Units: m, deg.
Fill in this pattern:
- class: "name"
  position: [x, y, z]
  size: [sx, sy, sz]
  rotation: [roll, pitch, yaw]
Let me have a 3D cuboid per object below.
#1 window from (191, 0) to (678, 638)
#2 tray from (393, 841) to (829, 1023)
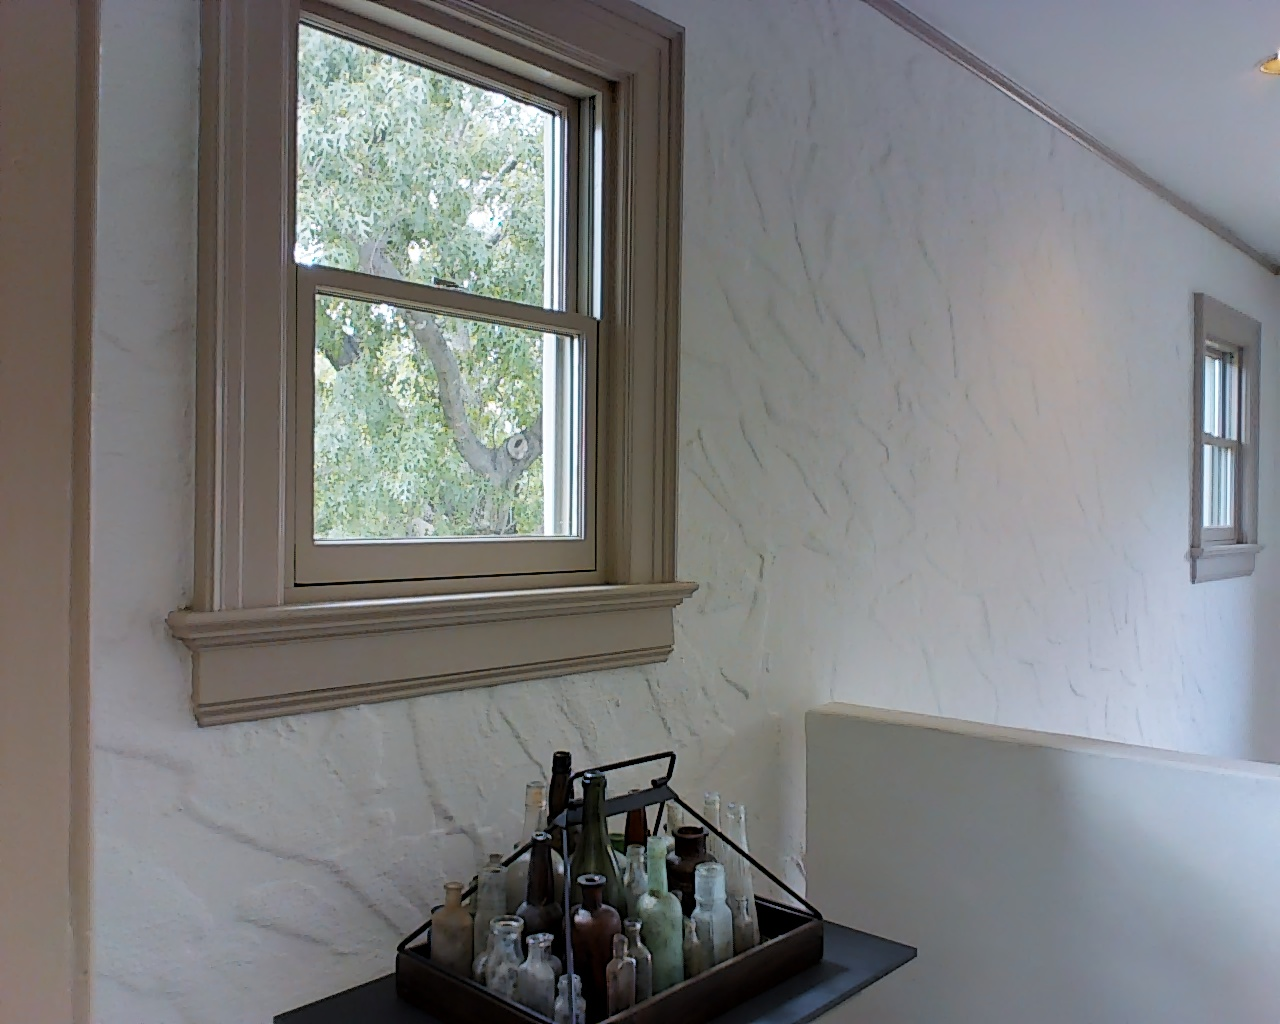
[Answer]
- class: "window"
  position: [-0.280, -0.380, 1.770]
  size: [0.150, 1.090, 0.860]
  rotation: [1, 1, 43]
- class: "tray"
  position: [-0.030, 0.610, 1.550]
  size: [0.380, 0.070, 0.510]
  rotation: [1, 1, 43]
